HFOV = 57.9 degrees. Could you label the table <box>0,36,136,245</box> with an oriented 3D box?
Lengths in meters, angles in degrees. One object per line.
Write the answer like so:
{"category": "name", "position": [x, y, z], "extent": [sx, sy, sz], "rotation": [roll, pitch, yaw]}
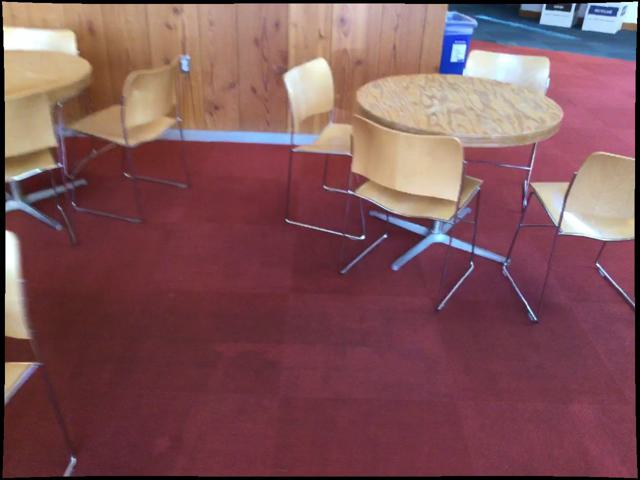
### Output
{"category": "table", "position": [-1.558, -0.541, 2.880], "extent": [0.929, 0.711, 0.930], "rotation": [3, 31, 0]}
